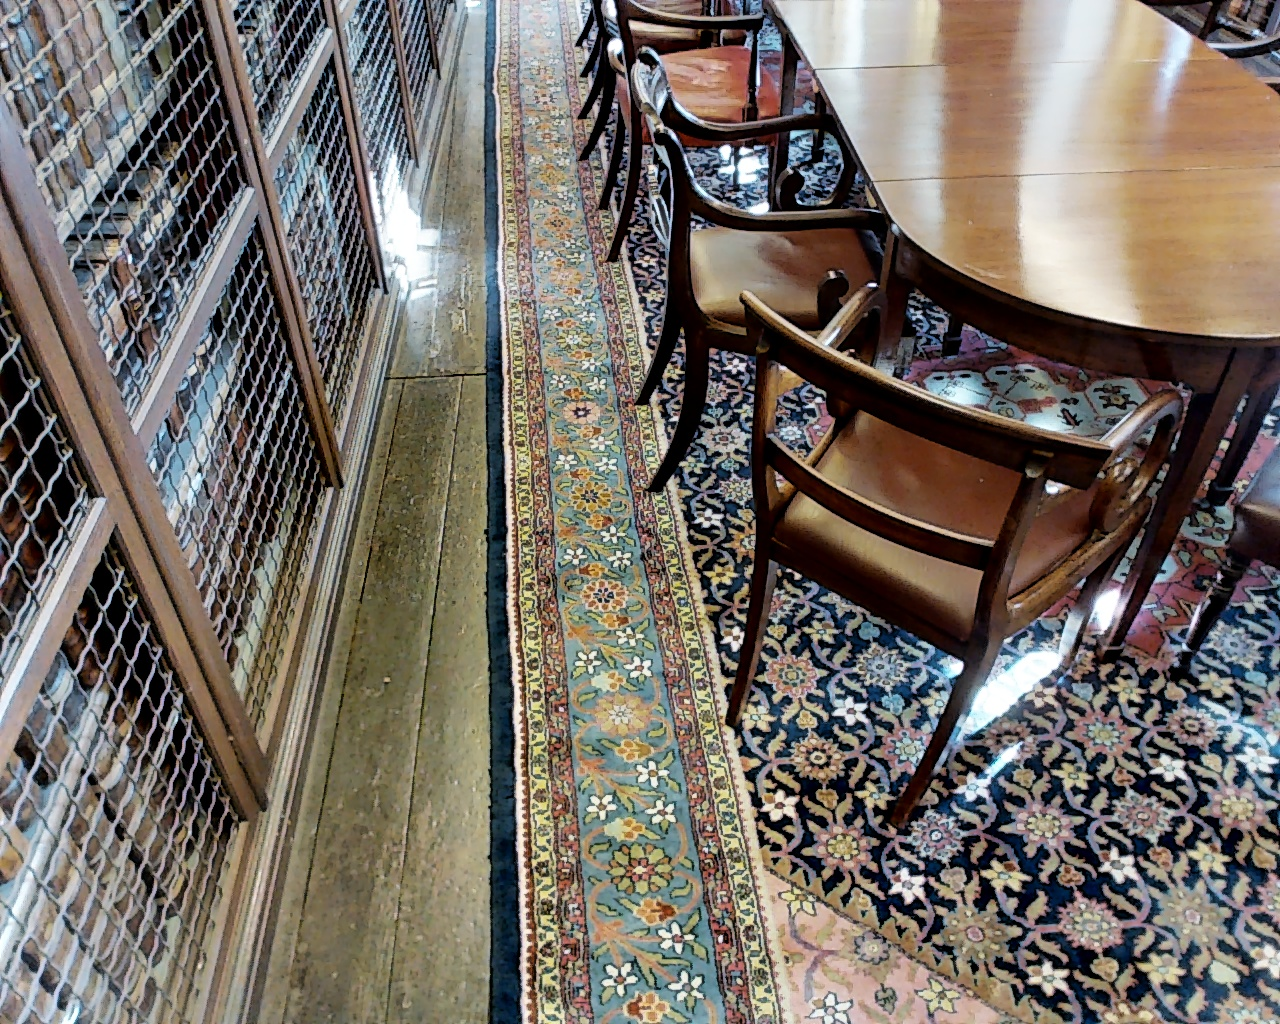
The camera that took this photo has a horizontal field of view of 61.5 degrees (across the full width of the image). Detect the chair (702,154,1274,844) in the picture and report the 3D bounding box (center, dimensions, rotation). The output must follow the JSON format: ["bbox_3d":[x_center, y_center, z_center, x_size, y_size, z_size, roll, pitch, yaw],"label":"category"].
[{"bbox_3d":[0.500,-0.030,1.750,0.550,0.810,0.560,29,50,30],"label":"chair"}]

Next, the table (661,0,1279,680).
[{"bbox_3d":[0.690,-2.100,4.160,1.030,0.750,6.380,-4,41,-3],"label":"table"}]

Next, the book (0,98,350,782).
[{"bbox_3d":[-0.680,-0.110,1.730,0.190,0.840,0.690,-4,42,-4],"label":"book"}]

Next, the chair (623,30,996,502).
[{"bbox_3d":[0.290,-0.510,2.270,0.600,0.780,0.540,-3,41,-3],"label":"chair"}]

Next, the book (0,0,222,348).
[{"bbox_3d":[-0.710,-0.580,1.290,0.150,0.470,0.670,-4,41,-3],"label":"book"}]

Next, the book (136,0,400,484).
[{"bbox_3d":[-0.730,-0.620,2.310,0.220,0.830,0.740,-3,41,-2],"label":"book"}]
